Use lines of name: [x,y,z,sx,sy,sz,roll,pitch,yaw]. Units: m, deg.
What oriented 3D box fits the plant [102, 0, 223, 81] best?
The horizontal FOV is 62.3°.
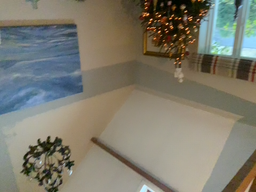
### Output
plant: [0.410,-1.330,2.590,1.200,1.930,0.890,18,-151,39]
